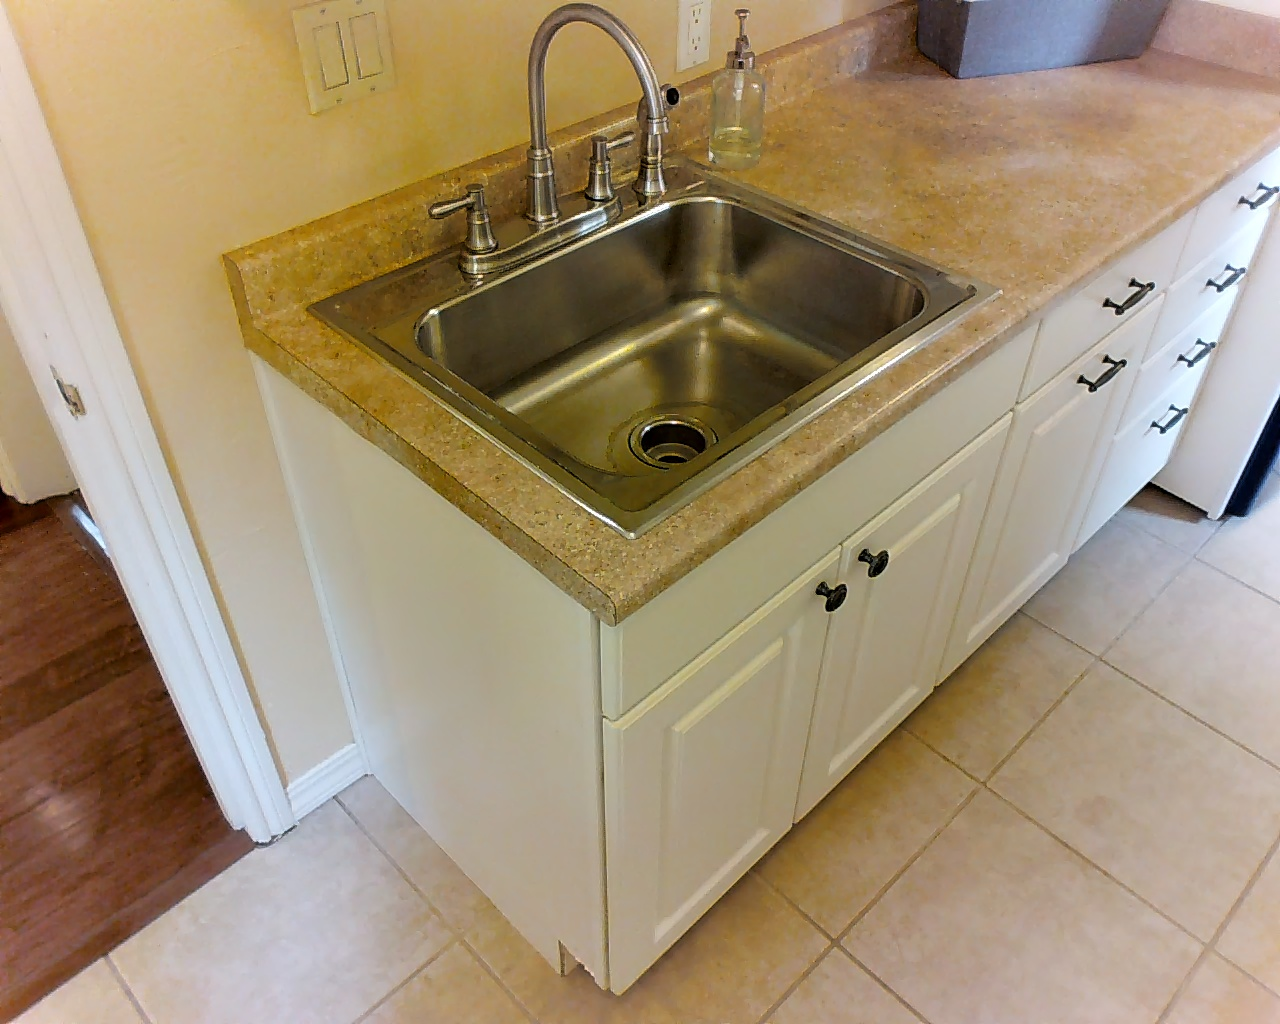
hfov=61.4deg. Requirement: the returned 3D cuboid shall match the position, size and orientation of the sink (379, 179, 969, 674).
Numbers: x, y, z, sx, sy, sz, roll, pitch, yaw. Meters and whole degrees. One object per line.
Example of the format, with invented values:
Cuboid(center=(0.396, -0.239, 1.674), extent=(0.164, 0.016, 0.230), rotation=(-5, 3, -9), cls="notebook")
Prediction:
Cuboid(center=(0.050, -0.150, 1.370), extent=(0.570, 0.250, 0.430), rotation=(-33, 52, -32), cls="sink")
